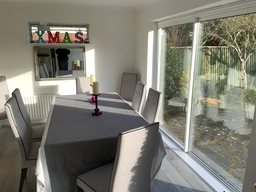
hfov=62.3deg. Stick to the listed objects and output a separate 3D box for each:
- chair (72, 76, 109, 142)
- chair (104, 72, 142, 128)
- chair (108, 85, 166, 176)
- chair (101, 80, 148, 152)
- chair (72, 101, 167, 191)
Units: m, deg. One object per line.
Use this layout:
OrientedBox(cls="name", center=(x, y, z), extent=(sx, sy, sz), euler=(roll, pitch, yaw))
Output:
OrientedBox(cls="chair", center=(-0.680, 0.190, 3.810), extent=(0.500, 1.010, 0.620), euler=(-5, 15, -22))
OrientedBox(cls="chair", center=(-0.100, 0.050, 4.450), extent=(0.510, 0.990, 0.630), euler=(9, 16, 32))
OrientedBox(cls="chair", center=(0.090, 0.420, 2.810), extent=(0.620, 1.030, 0.450), euler=(-4, 14, -17))
OrientedBox(cls="chair", center=(-0.070, 0.290, 3.380), extent=(0.620, 1.010, 0.450), euler=(-3, 14, -15))
OrientedBox(cls="chair", center=(-0.090, 0.650, 1.830), extent=(0.490, 1.040, 0.610), euler=(-11, 18, -39))
